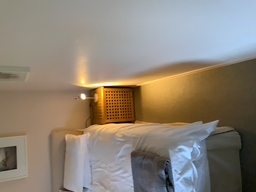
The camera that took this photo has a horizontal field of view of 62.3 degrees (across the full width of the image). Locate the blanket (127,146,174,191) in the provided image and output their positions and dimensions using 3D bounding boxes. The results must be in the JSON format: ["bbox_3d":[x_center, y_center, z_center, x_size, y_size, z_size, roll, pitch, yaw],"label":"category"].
[{"bbox_3d":[0.150,0.600,1.540,0.100,0.420,0.380,-3,91,-30],"label":"blanket"}]
